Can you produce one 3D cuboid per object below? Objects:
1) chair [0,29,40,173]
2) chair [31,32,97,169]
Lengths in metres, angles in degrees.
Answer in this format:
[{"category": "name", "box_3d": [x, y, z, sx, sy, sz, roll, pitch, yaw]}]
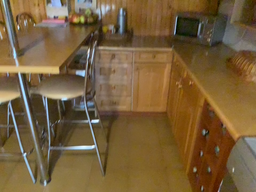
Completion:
[{"category": "chair", "box_3d": [-0.970, 0.070, 1.620, 0.300, 1.070, 0.310, 3, 27, 2]}, {"category": "chair", "box_3d": [-0.440, 0.080, 1.650, 0.330, 1.060, 0.270, 1, 27, -2]}]
